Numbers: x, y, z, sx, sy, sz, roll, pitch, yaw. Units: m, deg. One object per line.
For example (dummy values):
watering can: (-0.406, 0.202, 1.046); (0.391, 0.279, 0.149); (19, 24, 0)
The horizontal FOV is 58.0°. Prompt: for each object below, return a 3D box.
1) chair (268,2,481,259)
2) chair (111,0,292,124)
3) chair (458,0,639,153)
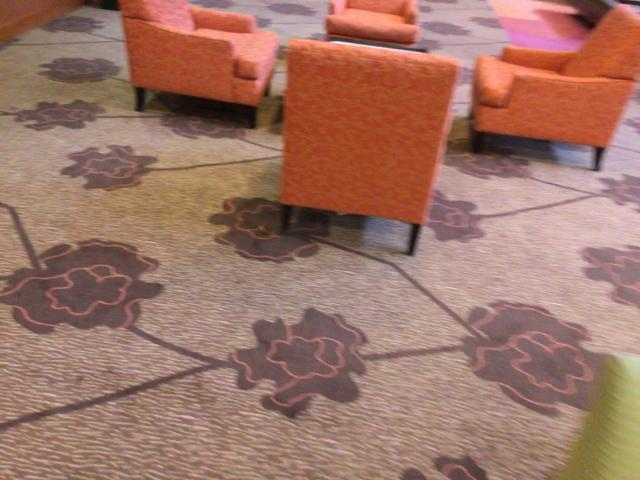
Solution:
chair: (0.240, -0.560, 2.730); (0.770, 0.910, 0.920); (3, 31, 5)
chair: (-0.690, -1.340, 3.650); (0.900, 0.960, 0.770); (3, 31, 5)
chair: (1.430, -1.130, 3.640); (0.920, 0.890, 0.790); (3, 31, 5)
